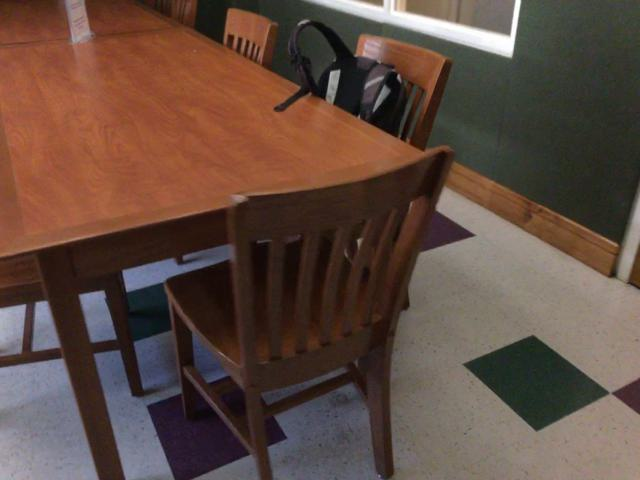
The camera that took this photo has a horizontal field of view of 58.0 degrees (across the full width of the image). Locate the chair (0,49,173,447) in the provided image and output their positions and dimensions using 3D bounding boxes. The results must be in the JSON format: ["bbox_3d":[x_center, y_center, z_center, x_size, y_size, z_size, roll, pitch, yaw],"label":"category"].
[{"bbox_3d":[-0.800,0.010,1.580,0.580,0.880,0.540,-12,33,-20],"label":"chair"}]

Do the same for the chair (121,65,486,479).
[{"bbox_3d":[-0.080,0.140,1.360,0.470,0.890,0.660,-15,34,-24],"label":"chair"}]
